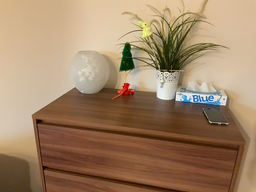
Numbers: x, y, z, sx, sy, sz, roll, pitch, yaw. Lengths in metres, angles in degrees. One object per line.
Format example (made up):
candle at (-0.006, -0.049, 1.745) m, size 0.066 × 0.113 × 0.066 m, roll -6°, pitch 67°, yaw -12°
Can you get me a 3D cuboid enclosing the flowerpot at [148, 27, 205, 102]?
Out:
flowerpot at (0.230, -0.160, 1.040) m, size 0.220 × 0.330 × 0.130 m, roll 7°, pitch 21°, yaw 13°
